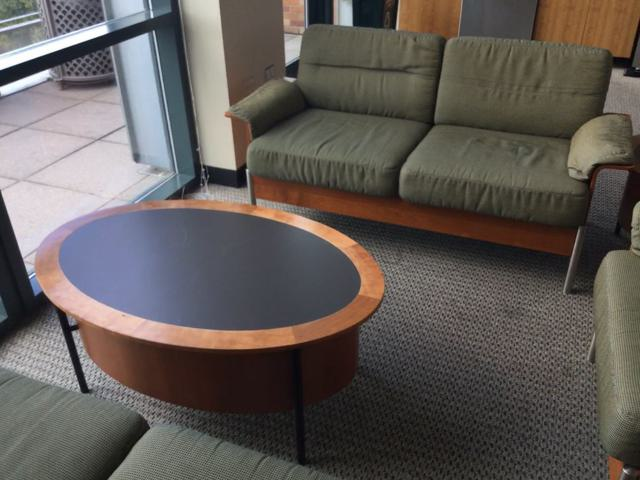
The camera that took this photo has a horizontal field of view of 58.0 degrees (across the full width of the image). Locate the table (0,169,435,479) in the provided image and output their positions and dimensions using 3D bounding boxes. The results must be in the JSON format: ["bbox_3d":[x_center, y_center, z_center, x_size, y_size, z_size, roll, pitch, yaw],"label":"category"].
[{"bbox_3d":[-0.290,0.170,1.710,1.080,0.370,0.710,10,36,23],"label":"table"}]
